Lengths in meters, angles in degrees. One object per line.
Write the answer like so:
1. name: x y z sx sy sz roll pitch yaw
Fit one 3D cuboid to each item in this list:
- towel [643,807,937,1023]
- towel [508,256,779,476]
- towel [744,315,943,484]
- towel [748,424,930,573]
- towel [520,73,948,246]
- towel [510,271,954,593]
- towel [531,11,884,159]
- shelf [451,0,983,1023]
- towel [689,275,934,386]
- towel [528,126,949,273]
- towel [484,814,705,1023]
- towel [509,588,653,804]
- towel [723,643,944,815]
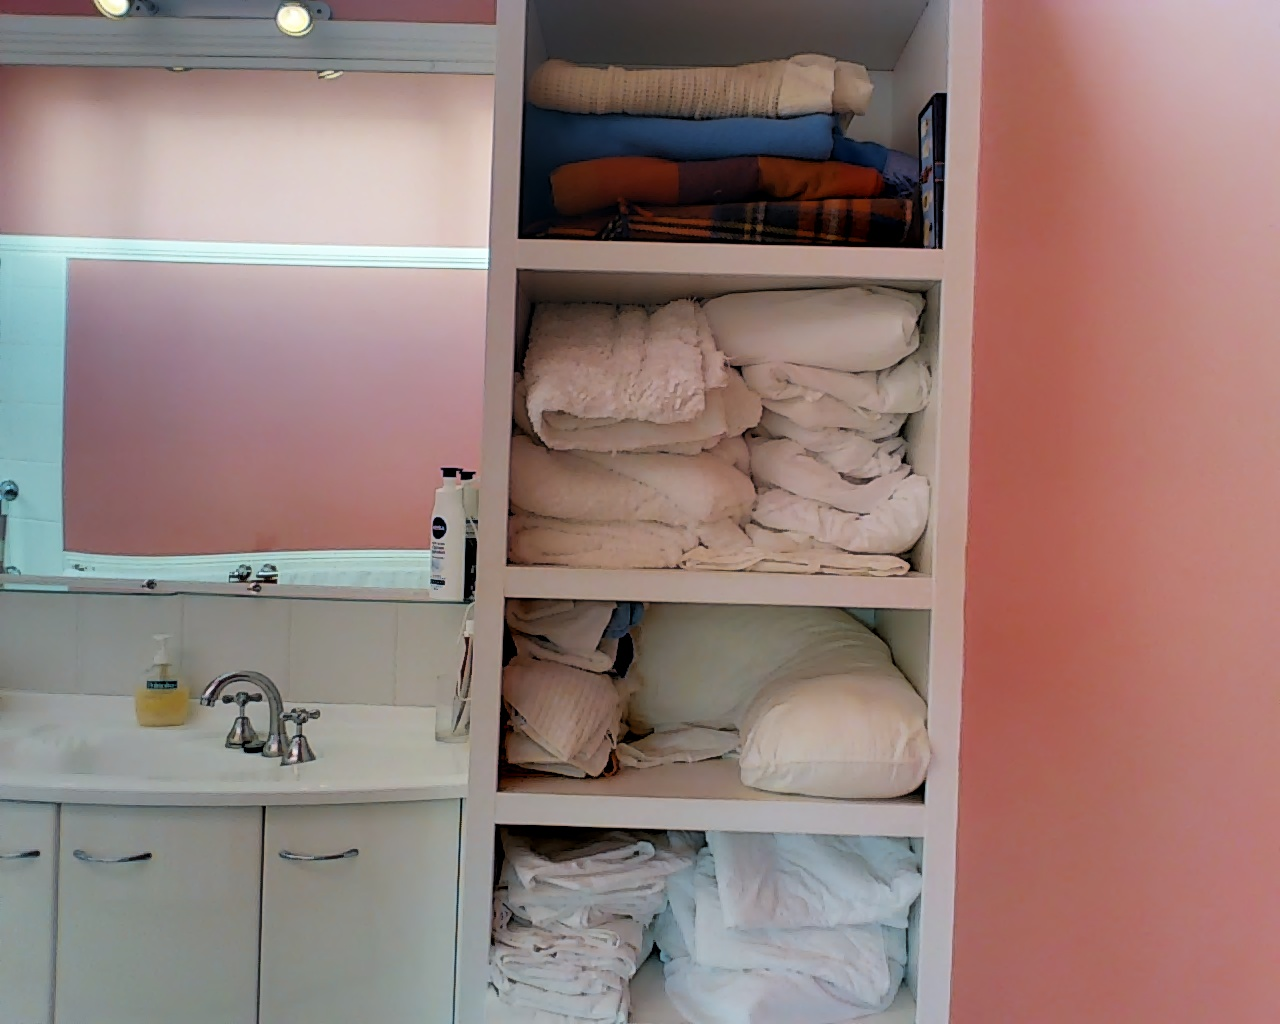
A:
1. towel: 0.210 0.610 1.610 0.400 0.260 0.240 2 -1 2
2. towel: 0.010 -0.210 1.680 0.370 0.280 0.370 2 -1 2
3. towel: 0.310 -0.170 1.670 0.280 0.240 0.130 2 -1 2
4. towel: 0.310 -0.020 1.710 0.260 0.220 0.150 2 -1 2
5. towel: 0.140 -0.550 1.710 0.620 0.170 0.280 2 -1 2
6. towel: 0.130 -0.110 1.630 0.600 0.430 0.290 2 -1 2
7. towel: 0.100 -0.650 1.650 0.510 0.150 0.170 2 -1 2
8. shelf: 0.110 0.140 1.740 0.690 2.271 0.540 2 -1 2
9. towel: 0.260 -0.280 1.680 0.360 0.140 0.150 2 -1 3
10. towel: 0.140 -0.460 1.600 0.590 0.160 0.160 2 -1 2
11. towel: -0.060 0.600 1.600 0.300 0.230 0.230 2 -1 2
12. towel: -0.080 0.270 1.700 0.190 0.270 0.410 2 -1 1
13. towel: 0.280 0.320 1.660 0.280 0.190 0.360 2 -1 2
